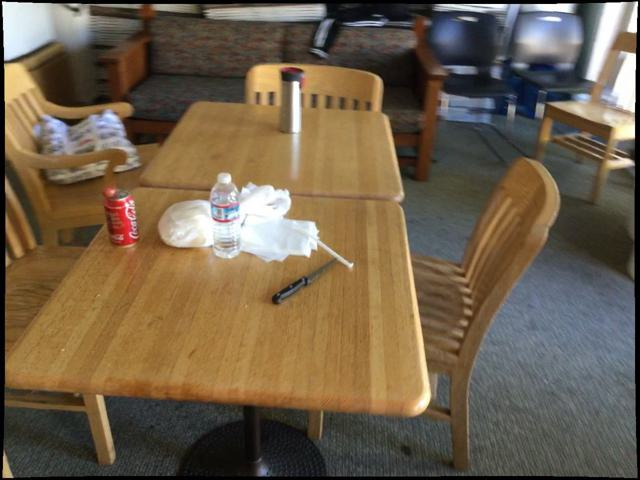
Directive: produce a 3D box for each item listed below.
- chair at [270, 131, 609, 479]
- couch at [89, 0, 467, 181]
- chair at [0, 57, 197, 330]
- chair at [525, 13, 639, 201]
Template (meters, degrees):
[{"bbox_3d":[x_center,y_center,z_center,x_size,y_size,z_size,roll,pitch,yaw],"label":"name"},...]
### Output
[{"bbox_3d":[0.260,0.190,1.670,0.699,0.801,0.600,3,32,3],"label":"chair"},{"bbox_3d":[-0.200,-0.981,3.590,1.928,0.761,1.070,2,32,3],"label":"couch"},{"bbox_3d":[-0.899,-0.210,2.290,0.709,0.821,0.640,-6,33,-11],"label":"chair"},{"bbox_3d":[1.688,-0.771,3.240,0.640,0.791,0.610,-18,37,-27],"label":"chair"}]
